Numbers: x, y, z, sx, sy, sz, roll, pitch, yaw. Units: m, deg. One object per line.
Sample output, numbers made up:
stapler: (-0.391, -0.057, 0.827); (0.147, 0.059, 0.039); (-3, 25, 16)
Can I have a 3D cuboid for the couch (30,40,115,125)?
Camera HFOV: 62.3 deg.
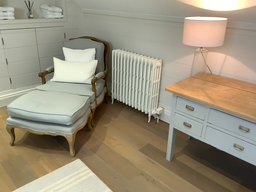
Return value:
couch: (-0.680, -0.240, 2.890); (0.740, 0.840, 0.810); (11, 26, 17)
